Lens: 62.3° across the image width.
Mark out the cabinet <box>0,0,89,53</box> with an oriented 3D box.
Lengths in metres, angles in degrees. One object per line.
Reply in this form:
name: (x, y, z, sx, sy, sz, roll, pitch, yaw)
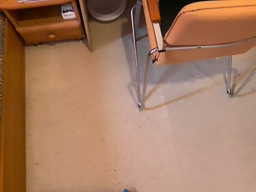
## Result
cabinet: (-0.530, -0.630, 1.380, 0.430, 0.430, 0.480, -9, 71, -4)
